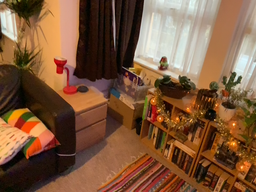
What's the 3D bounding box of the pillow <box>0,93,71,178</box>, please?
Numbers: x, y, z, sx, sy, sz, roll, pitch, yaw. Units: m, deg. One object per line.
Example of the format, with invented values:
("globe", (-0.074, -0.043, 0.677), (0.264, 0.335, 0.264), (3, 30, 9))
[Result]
("pillow", (-0.820, 0.230, 1.540), (0.620, 0.140, 0.490), (25, 33, 29))
